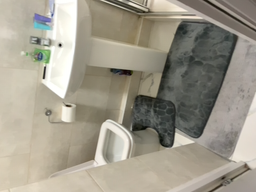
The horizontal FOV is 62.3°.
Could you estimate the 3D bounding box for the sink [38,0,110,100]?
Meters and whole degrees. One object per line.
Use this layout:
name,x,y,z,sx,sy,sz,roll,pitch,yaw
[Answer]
sink,-0.340,-0.300,1.250,0.400,0.190,0.550,24,107,47
